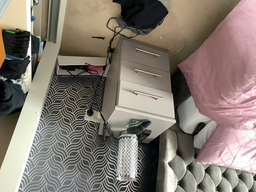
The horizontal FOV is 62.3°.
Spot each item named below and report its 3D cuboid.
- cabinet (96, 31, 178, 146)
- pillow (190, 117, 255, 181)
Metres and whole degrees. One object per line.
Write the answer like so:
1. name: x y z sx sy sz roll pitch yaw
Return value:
1. cabinet: 0.050 -0.040 1.530 0.400 0.630 0.430 13 147 -14
2. pillow: 0.850 0.410 1.510 0.660 0.260 0.380 14 147 -16
